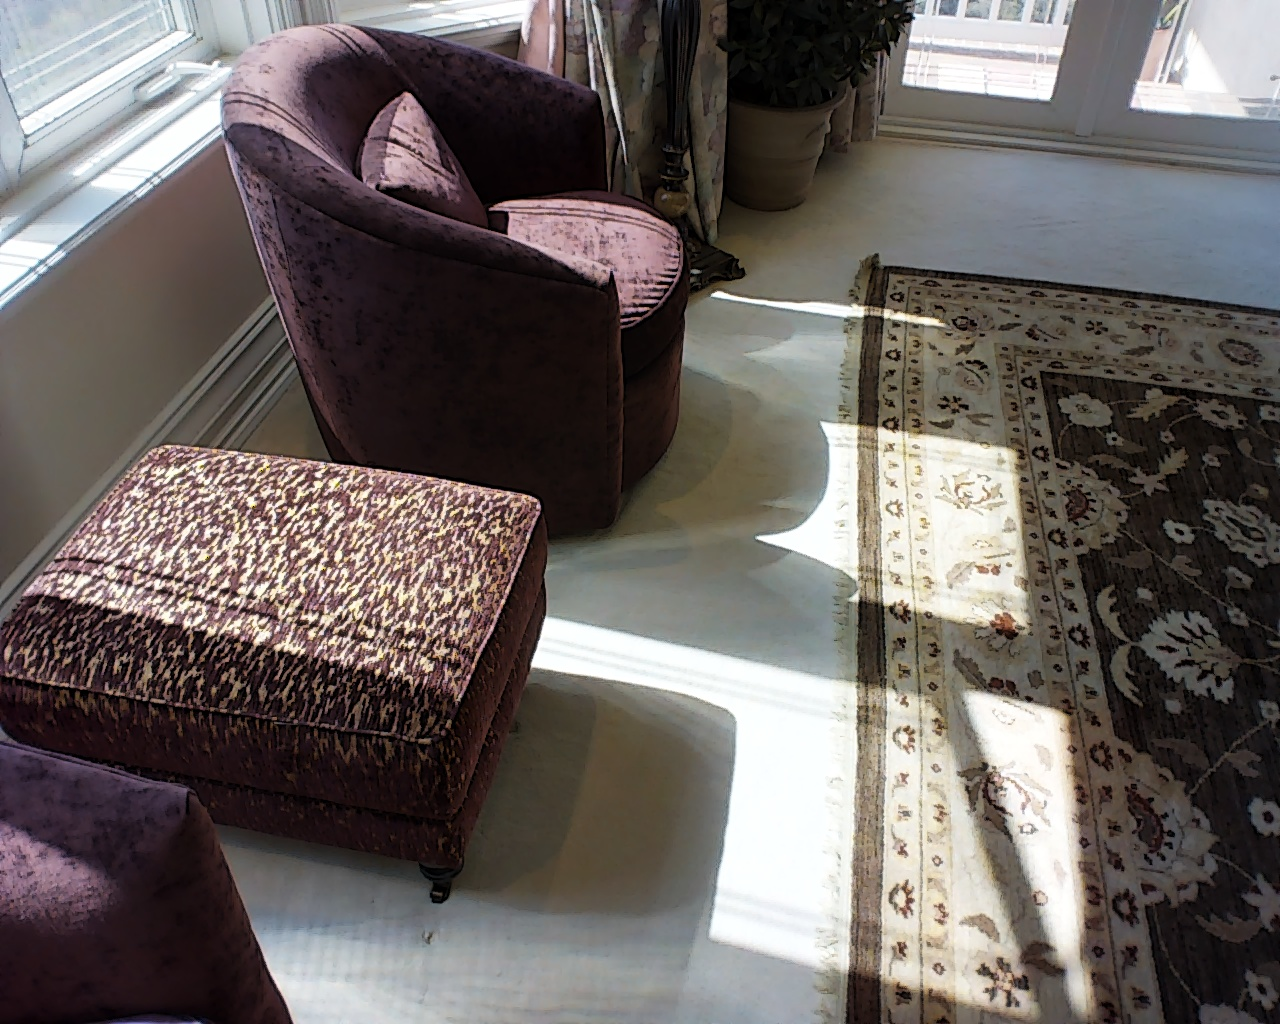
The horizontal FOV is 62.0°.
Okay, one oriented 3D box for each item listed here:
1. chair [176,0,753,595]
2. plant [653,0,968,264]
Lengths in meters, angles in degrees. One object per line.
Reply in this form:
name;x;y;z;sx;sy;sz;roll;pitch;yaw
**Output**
chair;-0.240;-0.480;2.130;0.740;0.750;0.920;9;42;9
plant;0.480;-1.460;2.890;0.690;1.290;0.520;-28;49;-29
